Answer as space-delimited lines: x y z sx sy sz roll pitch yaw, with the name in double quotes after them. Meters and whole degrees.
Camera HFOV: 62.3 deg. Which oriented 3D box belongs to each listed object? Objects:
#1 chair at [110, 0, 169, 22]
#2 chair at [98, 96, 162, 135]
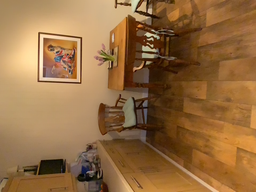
0.140 -1.630 3.300 0.540 0.730 0.630 138 131 -65 "chair"
0.010 0.320 3.370 0.530 0.870 0.540 151 119 -68 "chair"
